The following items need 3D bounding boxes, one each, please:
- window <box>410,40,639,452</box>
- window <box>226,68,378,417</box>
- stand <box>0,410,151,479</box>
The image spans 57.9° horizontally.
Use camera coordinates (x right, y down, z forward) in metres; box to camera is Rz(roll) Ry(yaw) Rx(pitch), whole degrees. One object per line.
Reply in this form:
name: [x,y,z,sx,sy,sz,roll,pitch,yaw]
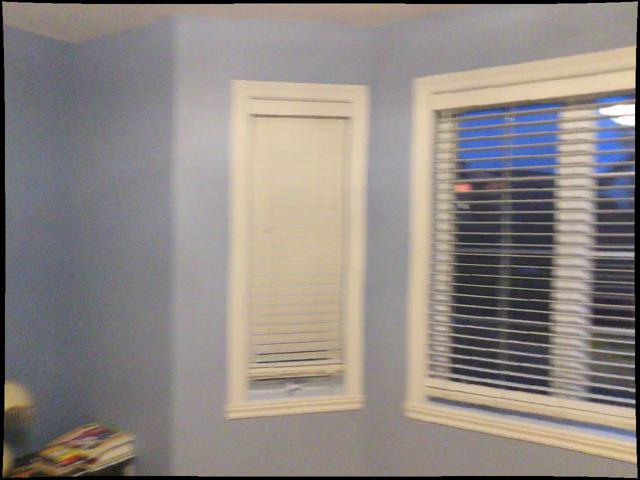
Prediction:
window: [0.989,0.020,2.120,1.349,1.381,0.210,2,5,35]
window: [-0.090,0.030,2.570,0.579,1.471,0.190,3,3,-9]
stand: [-1.169,1.141,2.520,0.510,0.511,0.660,2,5,35]
